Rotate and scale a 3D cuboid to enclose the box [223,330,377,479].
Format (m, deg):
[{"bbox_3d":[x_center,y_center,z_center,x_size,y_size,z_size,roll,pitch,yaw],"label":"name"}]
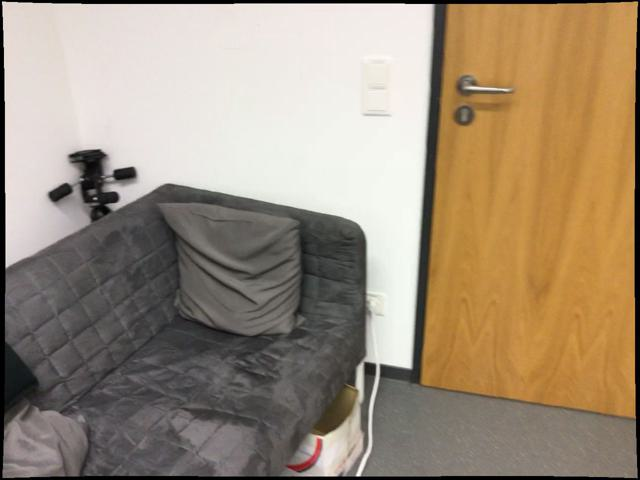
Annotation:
[{"bbox_3d":[-0.040,0.511,1.730,0.360,0.260,0.370,6,30,12],"label":"box"}]

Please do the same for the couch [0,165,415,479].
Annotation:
[{"bbox_3d":[-0.420,0.420,1.470,0.829,0.681,1.330,15,33,27],"label":"couch"}]

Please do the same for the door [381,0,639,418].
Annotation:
[{"bbox_3d":[0.739,-0.340,1.470,1.099,1.962,0.100,6,30,12],"label":"door"}]
